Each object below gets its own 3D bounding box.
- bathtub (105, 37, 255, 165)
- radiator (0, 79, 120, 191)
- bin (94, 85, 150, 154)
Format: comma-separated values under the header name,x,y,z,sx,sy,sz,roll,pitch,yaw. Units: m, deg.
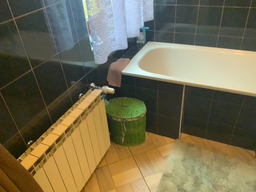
name,x,y,z,sx,sy,sz,roll,pitch,yaw
bathtub,0.790,0.000,1.880,1.780,0.640,0.740,12,38,21
radiator,-0.360,0.370,1.510,0.210,0.640,0.820,12,39,22
bin,-0.030,0.200,1.880,0.370,0.450,0.290,12,39,22
